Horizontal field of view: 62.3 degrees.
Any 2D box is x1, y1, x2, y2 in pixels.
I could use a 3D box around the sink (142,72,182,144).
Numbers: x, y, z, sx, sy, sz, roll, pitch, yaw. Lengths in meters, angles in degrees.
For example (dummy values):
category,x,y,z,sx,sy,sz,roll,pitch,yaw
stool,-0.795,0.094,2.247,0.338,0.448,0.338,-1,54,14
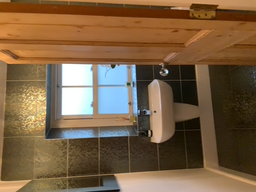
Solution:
category,x,y,z,sx,sy,sz,roll,pitch,yaw
sink,0.340,0.140,2.250,0.460,0.250,0.680,138,131,-78
